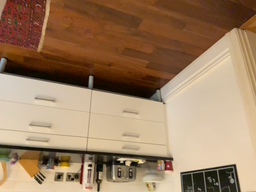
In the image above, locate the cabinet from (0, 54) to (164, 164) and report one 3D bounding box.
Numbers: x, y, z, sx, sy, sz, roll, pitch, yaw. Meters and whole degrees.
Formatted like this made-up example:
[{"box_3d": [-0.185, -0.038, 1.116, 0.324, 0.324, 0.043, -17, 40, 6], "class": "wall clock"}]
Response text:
[{"box_3d": [-0.520, 0.240, 2.480, 1.780, 0.940, 0.530, 9, 154, -20], "class": "cabinet"}]
